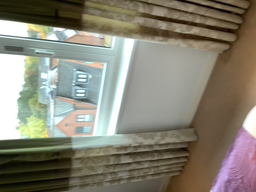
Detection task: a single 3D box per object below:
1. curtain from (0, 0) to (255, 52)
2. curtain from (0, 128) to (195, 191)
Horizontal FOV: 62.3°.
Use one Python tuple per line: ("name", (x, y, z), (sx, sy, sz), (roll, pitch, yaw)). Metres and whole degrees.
("curtain", (-0.130, -0.640, 1.270), (0.170, 2.310, 0.470), (-122, 40, -51))
("curtain", (-0.380, 0.580, 1.840), (0.110, 2.120, 0.550), (-127, 44, -54))
